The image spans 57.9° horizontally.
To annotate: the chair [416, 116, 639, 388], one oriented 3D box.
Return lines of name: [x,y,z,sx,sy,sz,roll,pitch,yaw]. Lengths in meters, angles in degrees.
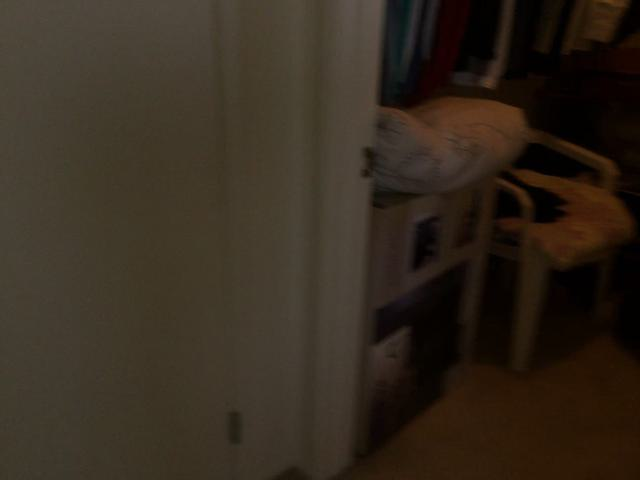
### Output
chair: [0.830,-0.020,2.120,0.770,0.680,0.520,-20,32,-39]

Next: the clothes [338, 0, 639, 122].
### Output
clothes: [0.670,-0.860,1.710,1.450,0.780,0.260,-20,32,-39]
